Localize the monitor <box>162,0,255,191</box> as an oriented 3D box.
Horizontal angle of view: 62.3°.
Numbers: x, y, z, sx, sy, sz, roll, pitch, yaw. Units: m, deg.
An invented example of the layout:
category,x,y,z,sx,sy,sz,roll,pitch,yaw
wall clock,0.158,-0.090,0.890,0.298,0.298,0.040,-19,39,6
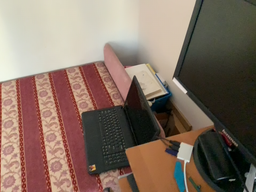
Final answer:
category,x,y,z,sx,sy,sz,roll,pitch,yaw
monitor,0.260,0.060,0.480,0.020,0.470,0.540,-12,46,-19
